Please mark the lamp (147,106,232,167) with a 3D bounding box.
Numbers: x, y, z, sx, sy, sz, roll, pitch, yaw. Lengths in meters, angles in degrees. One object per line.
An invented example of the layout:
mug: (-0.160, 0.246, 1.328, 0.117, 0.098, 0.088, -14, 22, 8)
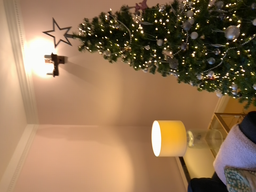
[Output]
lamp: (0.540, 0.380, 2.020, 0.410, 0.610, 0.370, -101, 16, -59)
